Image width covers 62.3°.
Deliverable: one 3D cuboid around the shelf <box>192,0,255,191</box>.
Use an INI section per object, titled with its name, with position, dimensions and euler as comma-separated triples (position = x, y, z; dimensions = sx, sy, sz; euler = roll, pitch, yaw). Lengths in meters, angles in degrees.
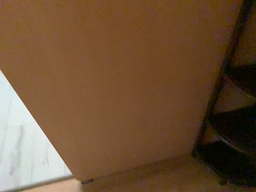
[shelf]
position = 0.550, 0.100, 0.900
dimensions = 0.300, 0.970, 0.290
euler = -12, 50, -5
